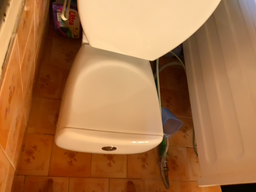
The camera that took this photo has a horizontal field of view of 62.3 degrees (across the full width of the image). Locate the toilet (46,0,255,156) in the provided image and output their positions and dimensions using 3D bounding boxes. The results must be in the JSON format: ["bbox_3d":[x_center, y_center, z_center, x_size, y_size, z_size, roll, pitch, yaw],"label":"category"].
[{"bbox_3d":[0.020,-0.250,0.680,0.400,0.740,0.660,9,153,-19],"label":"toilet"}]
